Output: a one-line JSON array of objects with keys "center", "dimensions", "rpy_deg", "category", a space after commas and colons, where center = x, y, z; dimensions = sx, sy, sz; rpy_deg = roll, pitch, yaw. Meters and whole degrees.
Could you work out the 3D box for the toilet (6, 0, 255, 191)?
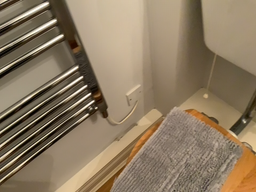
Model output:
[{"center": [0.280, 0.120, 0.670], "dimensions": [0.620, 0.980, 0.520], "rpy_deg": [-37, 56, -17], "category": "toilet"}]
